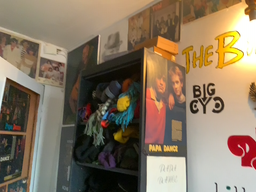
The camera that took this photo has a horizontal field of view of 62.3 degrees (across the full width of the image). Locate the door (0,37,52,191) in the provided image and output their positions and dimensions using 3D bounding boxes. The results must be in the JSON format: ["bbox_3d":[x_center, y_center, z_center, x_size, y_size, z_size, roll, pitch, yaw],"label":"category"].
[{"bbox_3d":[-0.890,0.740,1.620,0.080,2.100,0.930,3,-11,-2],"label":"door"}]
